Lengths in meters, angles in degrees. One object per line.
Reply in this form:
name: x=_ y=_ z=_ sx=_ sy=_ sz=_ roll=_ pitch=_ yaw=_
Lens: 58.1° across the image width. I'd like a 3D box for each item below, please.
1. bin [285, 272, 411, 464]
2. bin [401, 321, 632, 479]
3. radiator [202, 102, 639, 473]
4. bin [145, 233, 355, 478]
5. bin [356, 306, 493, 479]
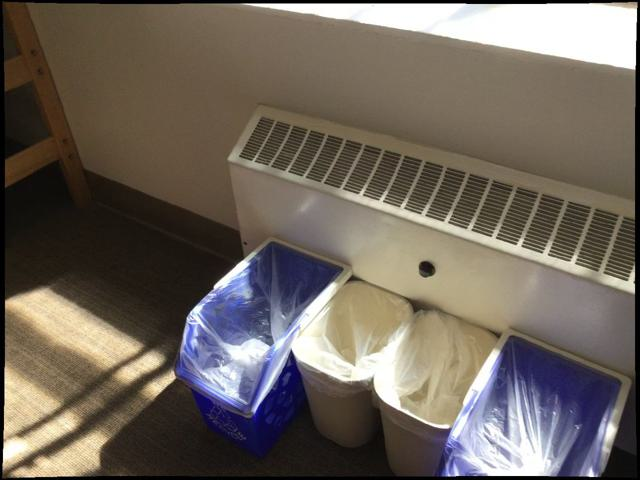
bin: x=0.080 y=0.311 z=1.420 sx=0.170 sy=0.331 sz=0.280 roll=20 pitch=45 yaw=27
bin: x=0.389 y=0.471 z=1.180 sx=0.300 sy=0.341 sz=0.410 roll=20 pitch=45 yaw=27
radiator: x=0.259 y=0.070 z=1.390 sx=1.158 sy=0.541 sz=0.190 roll=20 pitch=45 yaw=27
bin: x=-0.150 y=0.281 z=1.490 sx=0.300 sy=0.351 sz=0.420 roll=20 pitch=45 yaw=27
bin: x=0.239 y=0.391 z=1.340 sx=0.190 sy=0.331 sz=0.280 roll=20 pitch=45 yaw=27
